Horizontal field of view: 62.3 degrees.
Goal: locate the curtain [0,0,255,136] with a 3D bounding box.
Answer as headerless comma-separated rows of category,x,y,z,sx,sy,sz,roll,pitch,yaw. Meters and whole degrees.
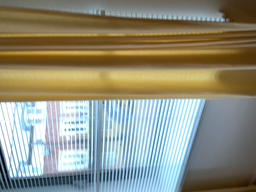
curtain,0.100,-0.140,0.880,0.280,2.410,0.480,-109,21,-57
